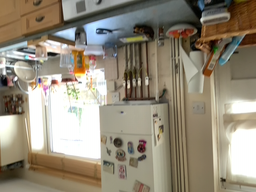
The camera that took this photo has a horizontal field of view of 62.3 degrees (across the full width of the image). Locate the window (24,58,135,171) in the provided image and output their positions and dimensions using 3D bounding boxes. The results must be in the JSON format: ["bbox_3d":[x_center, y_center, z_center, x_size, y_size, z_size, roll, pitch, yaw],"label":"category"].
[{"bbox_3d":[-0.590,0.190,2.420,1.270,1.050,0.340,-2,-179,27],"label":"window"}]
